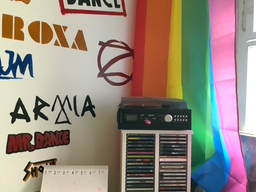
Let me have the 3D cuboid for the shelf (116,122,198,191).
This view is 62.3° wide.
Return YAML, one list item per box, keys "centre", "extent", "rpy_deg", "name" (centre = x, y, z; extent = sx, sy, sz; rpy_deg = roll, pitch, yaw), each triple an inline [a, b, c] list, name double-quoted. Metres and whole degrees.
- centre: [0.110, 0.800, 1.080]
  extent: [0.350, 1.300, 0.270]
  rpy_deg: [2, 0, -5]
  name: "shelf"
